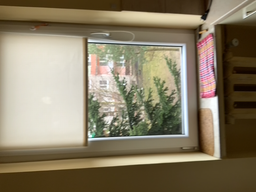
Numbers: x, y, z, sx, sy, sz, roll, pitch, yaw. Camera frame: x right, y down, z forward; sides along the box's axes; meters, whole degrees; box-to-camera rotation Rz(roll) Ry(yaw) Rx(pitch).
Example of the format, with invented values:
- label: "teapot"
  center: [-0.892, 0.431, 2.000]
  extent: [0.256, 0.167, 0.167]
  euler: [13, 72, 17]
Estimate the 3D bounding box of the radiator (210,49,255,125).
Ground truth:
- label: "radiator"
  center: [0.940, -0.050, 1.470]
  extent: [0.200, 0.660, 0.470]
  euler: [153, 117, -77]
